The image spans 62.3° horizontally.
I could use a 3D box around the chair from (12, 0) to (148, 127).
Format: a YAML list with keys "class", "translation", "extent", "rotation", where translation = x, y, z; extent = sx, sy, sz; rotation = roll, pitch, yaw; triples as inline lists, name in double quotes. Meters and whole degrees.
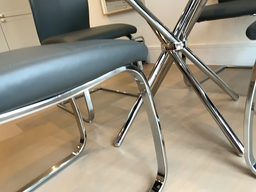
- class: "chair"
  translation: [-0.310, -0.430, 1.290]
  extent: [0.450, 1.030, 0.570]
  rotation: [-27, 26, -37]

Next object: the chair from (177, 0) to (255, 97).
- class: "chair"
  translation: [0.640, -0.600, 1.240]
  extent: [0.560, 1.030, 0.450]
  rotation: [-28, 26, -38]
